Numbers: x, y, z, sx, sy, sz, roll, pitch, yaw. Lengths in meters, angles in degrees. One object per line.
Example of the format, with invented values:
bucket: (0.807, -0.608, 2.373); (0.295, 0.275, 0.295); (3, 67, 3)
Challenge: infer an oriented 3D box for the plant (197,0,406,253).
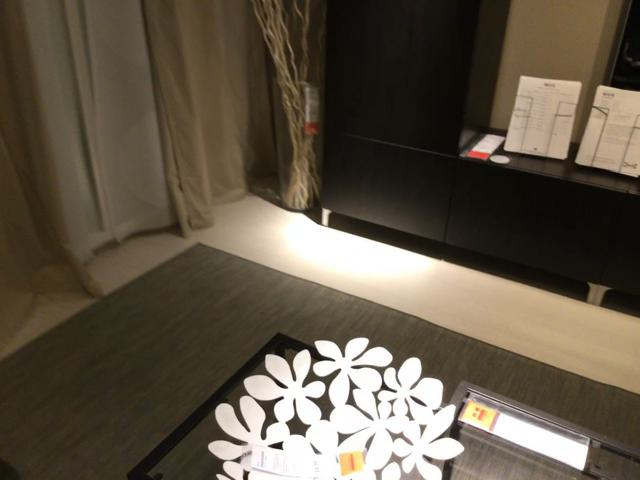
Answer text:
plant: (-0.050, -0.790, 2.490); (0.580, 1.450, 0.680); (16, 33, 29)

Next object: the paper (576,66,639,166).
paper: (1.040, -0.420, 1.980); (0.260, 0.300, 0.130); (16, 60, 30)

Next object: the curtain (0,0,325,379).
curtain: (-0.760, -0.650, 2.010); (0.380, 1.670, 2.200); (16, 33, 30)

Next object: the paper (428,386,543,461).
paper: (0.290, 0.320, 1.020); (0.180, 0.020, 0.070); (16, 33, 30)
